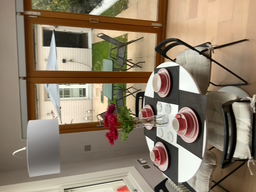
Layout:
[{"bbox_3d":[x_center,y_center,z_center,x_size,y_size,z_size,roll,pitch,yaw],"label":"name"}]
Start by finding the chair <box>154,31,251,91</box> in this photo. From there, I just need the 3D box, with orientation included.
[{"bbox_3d":[0.680,-0.300,2.010,0.460,0.740,0.470,-170,79,-69],"label":"chair"}]

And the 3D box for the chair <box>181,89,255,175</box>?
[{"bbox_3d":[0.850,0.200,1.580,0.490,0.740,0.480,-172,81,-69],"label":"chair"}]
